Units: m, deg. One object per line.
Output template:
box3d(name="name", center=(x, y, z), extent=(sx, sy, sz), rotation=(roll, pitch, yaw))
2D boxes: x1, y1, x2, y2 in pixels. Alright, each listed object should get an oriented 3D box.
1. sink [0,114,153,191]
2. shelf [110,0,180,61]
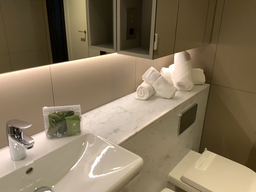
box3d(name="sink", center=(-0.280, 0.280, 0.700), extent=(0.480, 0.110, 0.580), rotation=(18, 27, 35))
box3d(name="shelf", center=(0.090, -0.710, 0.950), extent=(0.260, 1.040, 0.230), rotation=(18, 27, 35))
